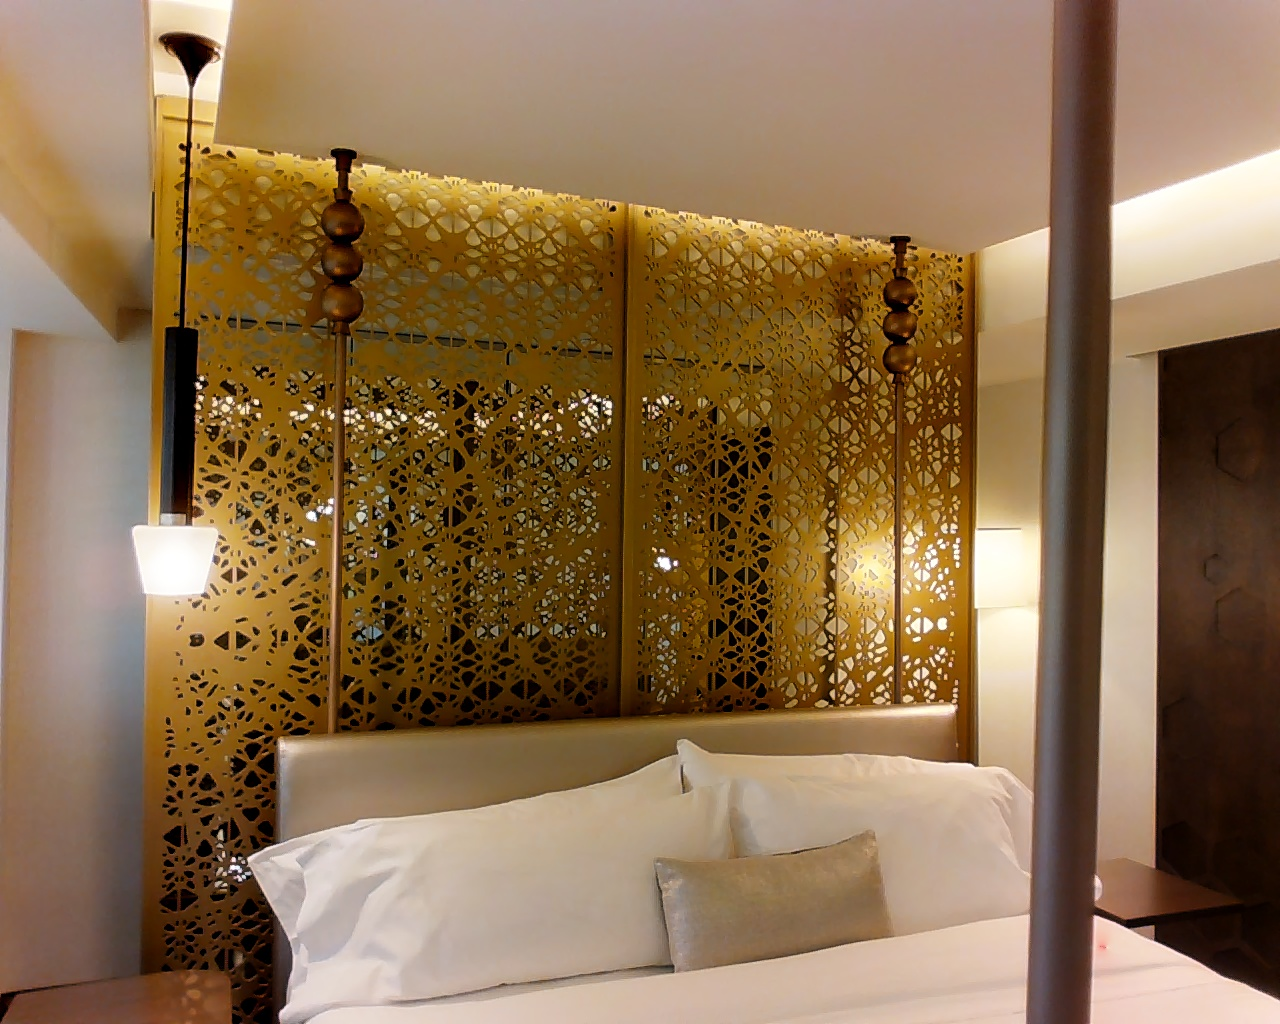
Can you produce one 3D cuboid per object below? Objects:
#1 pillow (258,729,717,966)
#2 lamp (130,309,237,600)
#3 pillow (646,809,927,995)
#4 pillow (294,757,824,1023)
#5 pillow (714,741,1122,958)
[{"bbox_3d":[-0.320,0.730,2.440,1.010,0.390,0.180,2,-1,-23],"label":"pillow"},{"bbox_3d":[-0.890,-0.110,2.100,0.170,0.540,0.160,2,6,-23],"label":"lamp"},{"bbox_3d":[0.310,0.810,2.290,0.530,0.250,0.260,2,-1,-23],"label":"pillow"},{"bbox_3d":[-0.150,0.770,2.280,1.080,0.380,0.280,2,-1,-23],"label":"pillow"},{"bbox_3d":[0.670,0.770,2.560,0.940,0.340,0.310,2,-1,-23],"label":"pillow"}]
